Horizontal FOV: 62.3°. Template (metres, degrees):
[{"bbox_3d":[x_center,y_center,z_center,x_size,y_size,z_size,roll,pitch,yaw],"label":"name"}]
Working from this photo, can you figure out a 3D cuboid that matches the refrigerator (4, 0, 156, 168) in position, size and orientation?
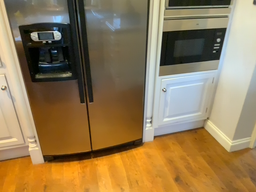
[{"bbox_3d":[-0.320,-0.290,1.730,0.930,1.730,0.430,-8,30,-15],"label":"refrigerator"}]
